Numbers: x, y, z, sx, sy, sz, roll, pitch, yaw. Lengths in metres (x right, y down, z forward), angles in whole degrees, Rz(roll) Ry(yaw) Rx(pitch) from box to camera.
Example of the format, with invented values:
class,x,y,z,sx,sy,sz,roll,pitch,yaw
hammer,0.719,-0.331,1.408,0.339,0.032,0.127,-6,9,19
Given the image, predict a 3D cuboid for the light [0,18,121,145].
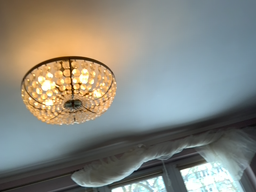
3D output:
class,x,y,z,sx,sy,sz,roll,pitch,yaw
light,-0.300,-0.050,1.080,0.410,0.460,0.290,26,-121,11
